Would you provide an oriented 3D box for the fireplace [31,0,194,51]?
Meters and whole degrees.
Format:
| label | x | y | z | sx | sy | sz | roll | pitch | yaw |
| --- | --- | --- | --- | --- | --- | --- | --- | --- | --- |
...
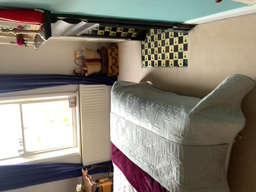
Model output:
| label | x | y | z | sx | sy | sz | roll | pitch | yaw |
| --- | --- | --- | --- | --- | --- | --- | --- | --- | --- |
| fireplace | -0.260 | -0.720 | 2.250 | 1.240 | 1.330 | 0.390 | 17 | 109 | 62 |

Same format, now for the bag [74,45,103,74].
| label | x | y | z | sx | sy | sz | roll | pitch | yaw |
| --- | --- | --- | --- | --- | --- | --- | --- | --- | --- |
| bag | -0.690 | -0.630 | 3.730 | 0.200 | 0.450 | 0.480 | 12 | 104 | 63 |

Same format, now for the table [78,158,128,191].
| label | x | y | z | sx | sy | sz | roll | pitch | yaw |
| --- | --- | --- | --- | --- | --- | --- | --- | --- | --- |
| table | -0.450 | 1.570 | 3.760 | 0.640 | 0.690 | 0.600 | 12 | 105 | 63 |
